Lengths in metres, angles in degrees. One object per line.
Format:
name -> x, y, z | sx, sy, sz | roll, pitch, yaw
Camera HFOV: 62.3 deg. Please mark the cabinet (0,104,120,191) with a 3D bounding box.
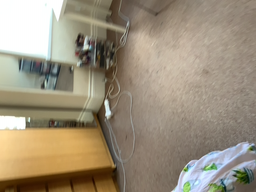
cabinet -> -1.170, 0.620, 2.140 | 0.670, 1.910, 0.830 | -60, 42, 32
